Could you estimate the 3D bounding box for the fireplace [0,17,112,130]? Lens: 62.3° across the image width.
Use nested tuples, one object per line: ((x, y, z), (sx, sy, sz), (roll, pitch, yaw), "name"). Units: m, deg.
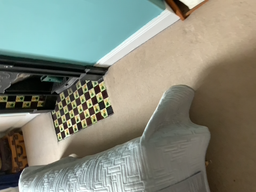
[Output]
((-1.060, -0.060, 1.680), (1.240, 1.330, 0.390), (-27, 73, 36), "fireplace")
